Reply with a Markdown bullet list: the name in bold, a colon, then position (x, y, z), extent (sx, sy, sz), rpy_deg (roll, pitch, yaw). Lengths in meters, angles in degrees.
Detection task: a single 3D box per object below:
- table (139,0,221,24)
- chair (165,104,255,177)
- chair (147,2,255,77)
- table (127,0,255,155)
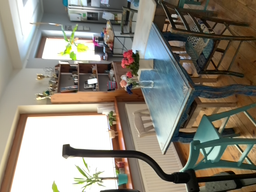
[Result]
- **table**: position (0.560, -1.070, 2.450), extent (0.630, 0.740, 0.170), rpy_deg (-105, 19, -46)
- **chair**: position (0.750, 0.330, 1.690), extent (0.400, 0.750, 0.350), rpy_deg (-110, 23, -55)
- **chair**: position (0.660, -0.470, 1.850), extent (0.450, 0.830, 0.400), rpy_deg (103, 161, -46)
- **table**: position (0.570, -0.350, 2.390), extent (1.740, 0.770, 0.810), rpy_deg (-105, 19, -46)
